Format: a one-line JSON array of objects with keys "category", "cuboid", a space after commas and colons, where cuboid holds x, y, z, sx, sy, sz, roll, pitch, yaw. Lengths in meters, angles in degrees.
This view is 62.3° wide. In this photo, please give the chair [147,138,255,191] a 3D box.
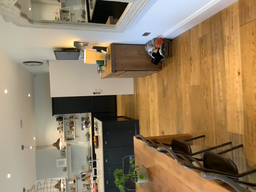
[{"category": "chair", "cuboid": [0.690, 0.730, 1.800, 0.510, 0.910, 0.570, 176, 92, -73]}]

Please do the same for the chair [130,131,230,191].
[{"category": "chair", "cuboid": [0.540, 0.740, 2.330, 0.540, 0.910, 0.570, 176, 92, -73]}]
